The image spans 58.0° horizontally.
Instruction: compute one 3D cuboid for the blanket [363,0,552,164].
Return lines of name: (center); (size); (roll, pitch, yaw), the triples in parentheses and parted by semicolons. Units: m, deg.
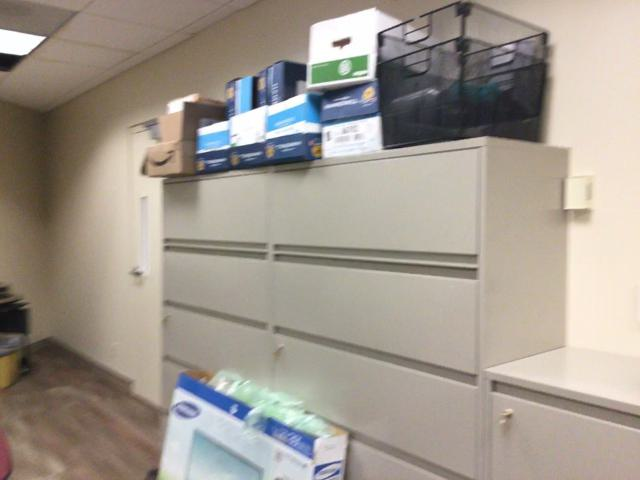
blanket: (0.440, -0.500, 1.870); (0.420, 0.420, 0.430); (1, -1, -40)
